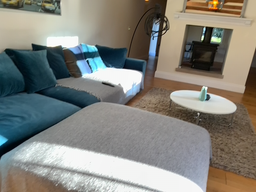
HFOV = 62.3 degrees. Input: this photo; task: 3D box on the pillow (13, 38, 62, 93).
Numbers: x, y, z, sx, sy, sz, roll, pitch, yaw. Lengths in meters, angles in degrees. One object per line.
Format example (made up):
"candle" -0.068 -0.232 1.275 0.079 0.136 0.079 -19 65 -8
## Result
"pillow" -1.050 -0.370 2.540 0.120 0.440 0.490 14 47 20
